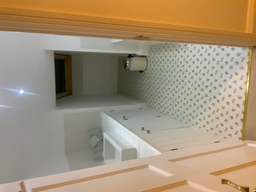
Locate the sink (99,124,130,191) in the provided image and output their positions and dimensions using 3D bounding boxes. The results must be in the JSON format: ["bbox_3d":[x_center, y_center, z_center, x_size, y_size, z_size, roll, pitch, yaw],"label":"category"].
[{"bbox_3d":[-0.150,0.570,2.080,0.500,0.110,0.460,-160,70,-63],"label":"sink"}]
